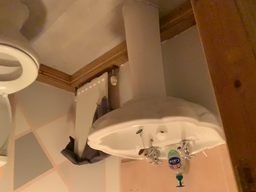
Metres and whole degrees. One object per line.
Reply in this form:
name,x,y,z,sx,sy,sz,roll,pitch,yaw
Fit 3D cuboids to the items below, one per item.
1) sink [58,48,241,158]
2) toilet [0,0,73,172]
sink,0.080,0.110,0.940,0.600,0.200,0.490,-23,149,37
toilet,-0.710,-0.070,1.110,0.700,0.810,0.470,-23,149,38
